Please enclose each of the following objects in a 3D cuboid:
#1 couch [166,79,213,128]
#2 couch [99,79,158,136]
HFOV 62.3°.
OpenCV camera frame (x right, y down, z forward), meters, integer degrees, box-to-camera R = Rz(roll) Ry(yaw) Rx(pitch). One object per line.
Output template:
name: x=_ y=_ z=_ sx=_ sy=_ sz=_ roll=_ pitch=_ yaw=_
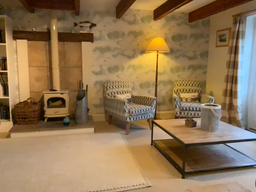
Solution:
couch: x=1.200 y=0.110 z=4.330 sx=0.720 sy=0.850 sz=0.860 roll=1 pitch=9 yaw=3
couch: x=-0.010 y=0.150 z=3.960 sx=0.720 sy=0.840 sz=0.860 roll=-5 pitch=11 yaw=-35
